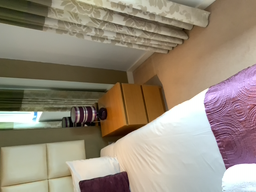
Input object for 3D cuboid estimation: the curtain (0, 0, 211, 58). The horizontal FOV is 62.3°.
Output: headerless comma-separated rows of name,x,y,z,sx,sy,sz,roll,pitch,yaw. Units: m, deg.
curtain,-0.400,-0.570,1.450,0.590,2.210,0.080,-31,62,54
